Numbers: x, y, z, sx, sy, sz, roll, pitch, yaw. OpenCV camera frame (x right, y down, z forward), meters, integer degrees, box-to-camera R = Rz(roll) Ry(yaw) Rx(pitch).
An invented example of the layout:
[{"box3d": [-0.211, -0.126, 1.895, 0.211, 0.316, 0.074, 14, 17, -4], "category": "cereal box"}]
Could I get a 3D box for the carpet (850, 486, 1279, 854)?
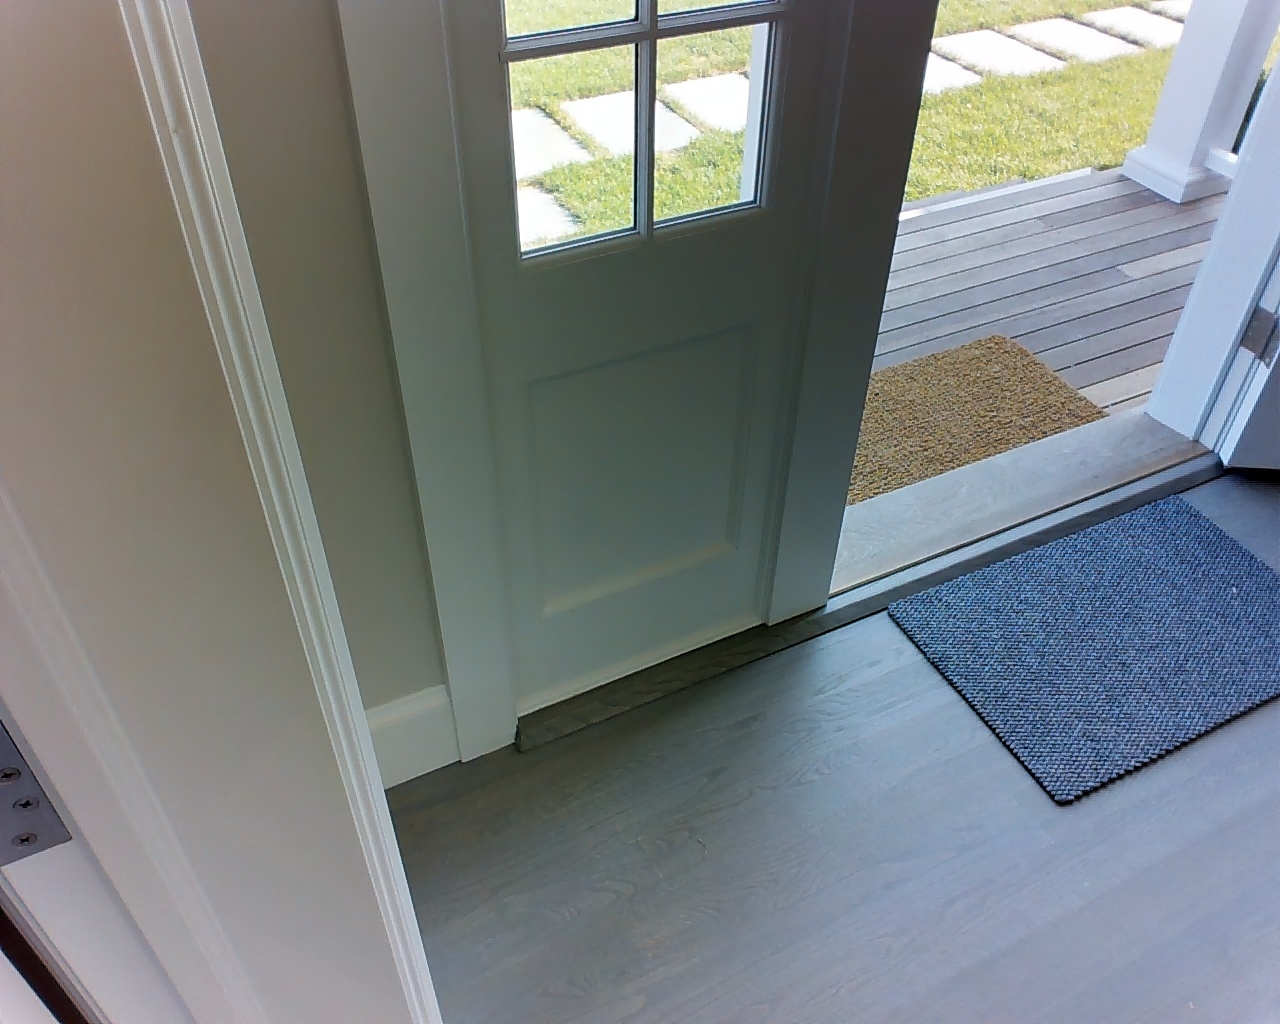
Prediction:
[{"box3d": [0.960, 0.250, 2.100, 0.930, 0.020, 0.570, -17, 45, -20], "category": "carpet"}]
